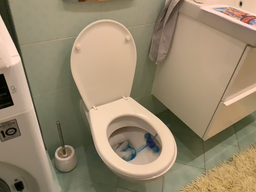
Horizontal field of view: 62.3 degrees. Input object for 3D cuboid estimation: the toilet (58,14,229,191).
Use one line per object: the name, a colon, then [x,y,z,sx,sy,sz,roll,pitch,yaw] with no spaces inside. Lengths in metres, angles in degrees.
toilet: [-0.020,0.140,1.010,0.340,0.820,0.560,-20,46,-28]
